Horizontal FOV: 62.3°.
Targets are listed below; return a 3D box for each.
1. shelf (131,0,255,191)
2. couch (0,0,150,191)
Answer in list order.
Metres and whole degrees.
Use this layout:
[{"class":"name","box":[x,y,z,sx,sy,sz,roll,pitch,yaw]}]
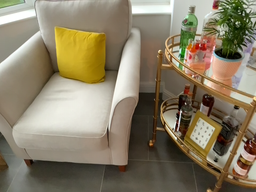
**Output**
[{"class":"shelf","box":[0.520,-0.040,1.300,0.500,0.950,1.000,-25,45,-26]},{"class":"couch","box":[-0.340,-0.100,1.500,0.890,0.910,1.040,4,39,7]}]
